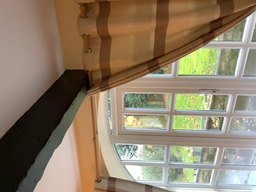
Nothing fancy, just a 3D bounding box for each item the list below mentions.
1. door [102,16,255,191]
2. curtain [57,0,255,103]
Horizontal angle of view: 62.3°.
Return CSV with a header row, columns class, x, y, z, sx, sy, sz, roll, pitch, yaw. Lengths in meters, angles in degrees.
class,x,y,z,sx,sy,sz,roll,pitch,yaw
door,0.850,0.290,2.600,0.110,2.250,2.350,-81,-7,-67
curtain,0.700,-0.420,1.560,0.170,2.360,0.950,-82,-7,-64
